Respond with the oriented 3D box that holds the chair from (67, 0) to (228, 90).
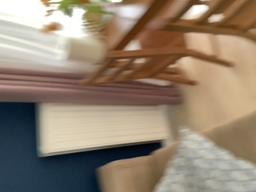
[{"bbox_3d":[0.130,-0.350,1.360,0.420,0.880,0.460,-35,60,50],"label":"chair"}]
